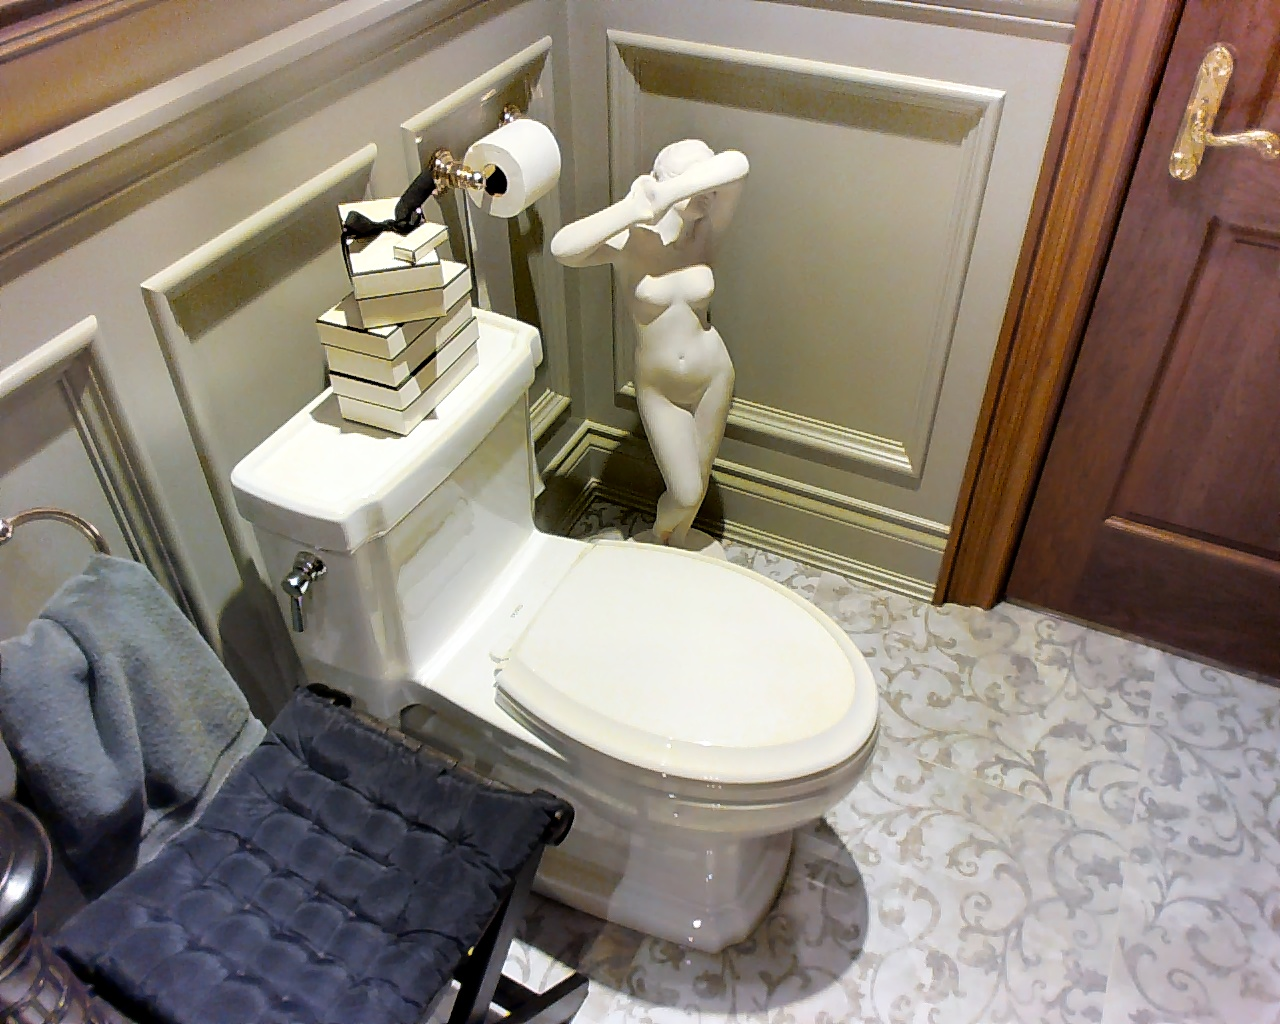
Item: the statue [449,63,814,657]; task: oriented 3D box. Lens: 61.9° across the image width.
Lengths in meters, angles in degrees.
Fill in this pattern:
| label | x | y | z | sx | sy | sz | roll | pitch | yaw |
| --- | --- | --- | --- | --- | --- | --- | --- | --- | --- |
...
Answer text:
| label | x | y | z | sx | sy | sz | roll | pitch | yaw |
| --- | --- | --- | --- | --- | --- | --- | --- | --- | --- |
| statue | 0.000 | -0.230 | 1.810 | 0.410 | 0.870 | 0.350 | 17 | 44 | 19 |
